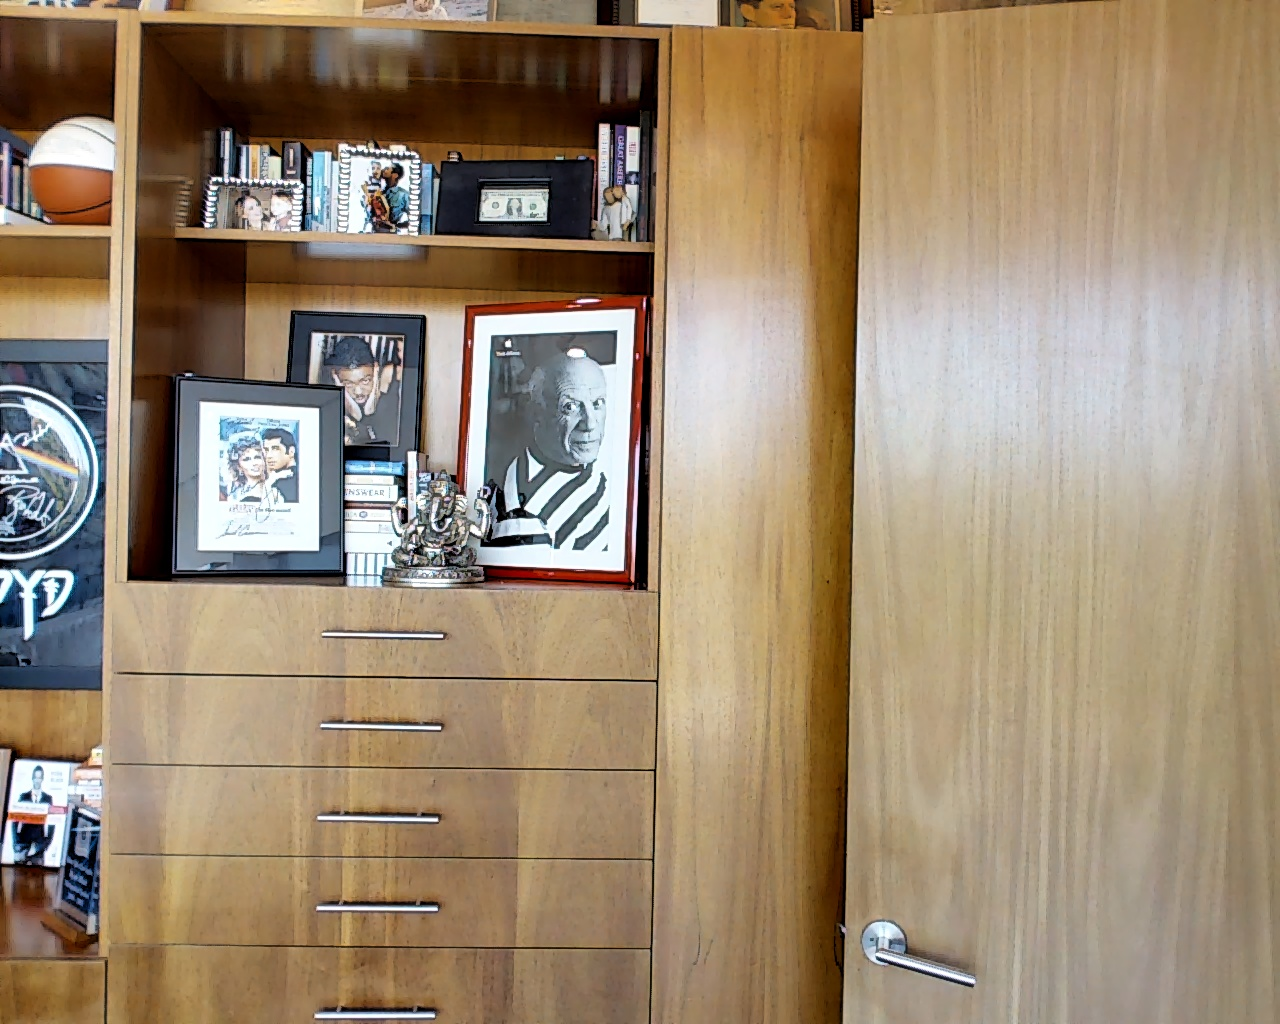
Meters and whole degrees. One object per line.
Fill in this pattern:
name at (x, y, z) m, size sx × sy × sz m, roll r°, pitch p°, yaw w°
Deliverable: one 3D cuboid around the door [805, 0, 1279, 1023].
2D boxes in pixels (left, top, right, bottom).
door at (0.770, 0.370, 1.500) m, size 1.040 × 2.390 × 0.090 m, roll 2°, pitch 1°, yaw 14°
